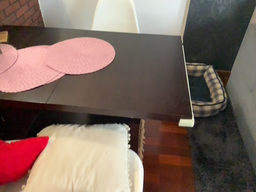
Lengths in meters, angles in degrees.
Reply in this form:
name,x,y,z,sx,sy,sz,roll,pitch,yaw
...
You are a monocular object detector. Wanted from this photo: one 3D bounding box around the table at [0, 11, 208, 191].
name,x,y,z,sx,sy,sz,roll,pitch,yaw
table,-0.240,0.000,1.420,1.190,0.710,0.920,6,42,5
